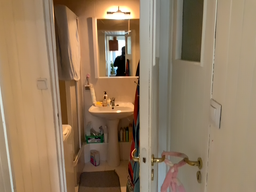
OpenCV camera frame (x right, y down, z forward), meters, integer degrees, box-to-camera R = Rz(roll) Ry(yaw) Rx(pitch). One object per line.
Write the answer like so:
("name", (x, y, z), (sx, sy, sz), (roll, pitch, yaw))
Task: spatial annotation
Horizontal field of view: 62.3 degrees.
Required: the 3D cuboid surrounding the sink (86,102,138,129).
("sink", (-0.200, 0.240, 2.820), (0.620, 0.220, 0.480), (0, 12, -2))
